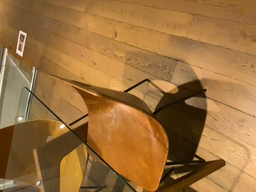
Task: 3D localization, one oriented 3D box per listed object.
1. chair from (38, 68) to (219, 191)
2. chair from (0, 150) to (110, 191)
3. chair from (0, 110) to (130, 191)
[{"bbox_3d":[0.060,0.180,1.050,0.390,0.770,0.470,25,105,37],"label":"chair"},{"bbox_3d":[-0.610,0.790,1.610,0.470,0.750,0.390,46,117,30],"label":"chair"},{"bbox_3d":[-0.410,0.360,1.460,0.370,0.750,0.390,26,106,37],"label":"chair"}]
